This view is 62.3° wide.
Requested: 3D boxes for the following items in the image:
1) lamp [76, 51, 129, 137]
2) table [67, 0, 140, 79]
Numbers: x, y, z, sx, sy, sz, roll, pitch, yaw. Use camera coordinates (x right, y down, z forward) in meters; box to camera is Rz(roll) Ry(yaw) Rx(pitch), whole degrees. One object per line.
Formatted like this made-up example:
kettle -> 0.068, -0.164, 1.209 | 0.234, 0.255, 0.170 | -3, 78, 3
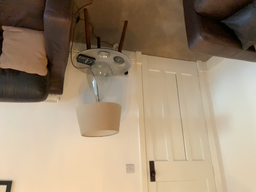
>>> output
lamp -> -0.240, 0.010, 1.900 | 0.360, 0.640, 0.420 | 5, 159, -19
table -> -0.270, -0.520, 2.080 | 0.590, 0.440, 0.600 | 4, 159, -16
